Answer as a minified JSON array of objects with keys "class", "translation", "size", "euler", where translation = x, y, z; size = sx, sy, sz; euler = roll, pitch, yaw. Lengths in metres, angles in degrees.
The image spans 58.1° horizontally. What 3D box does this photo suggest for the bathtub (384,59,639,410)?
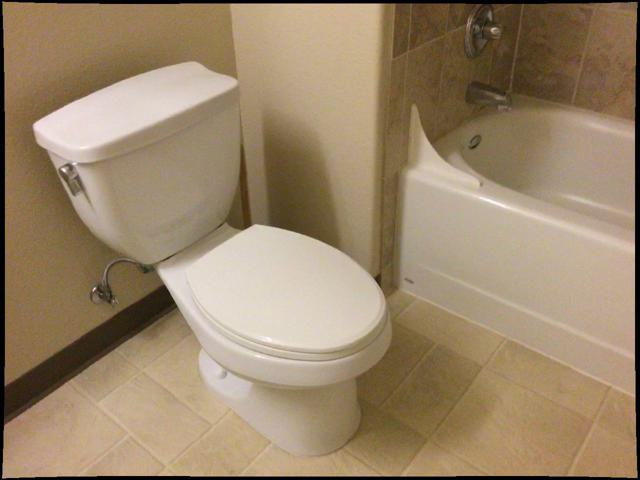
[{"class":"bathtub","translation":[1.027,0.010,1.640],"size":[1.478,0.571,0.780],"euler":[23,43,30]}]
